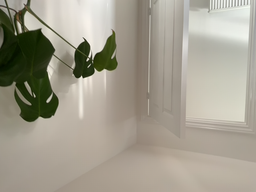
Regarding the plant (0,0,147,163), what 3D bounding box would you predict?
[{"bbox_3d":[-0.310,-0.320,0.880,0.460,0.870,0.860,3,-174,29],"label":"plant"}]
